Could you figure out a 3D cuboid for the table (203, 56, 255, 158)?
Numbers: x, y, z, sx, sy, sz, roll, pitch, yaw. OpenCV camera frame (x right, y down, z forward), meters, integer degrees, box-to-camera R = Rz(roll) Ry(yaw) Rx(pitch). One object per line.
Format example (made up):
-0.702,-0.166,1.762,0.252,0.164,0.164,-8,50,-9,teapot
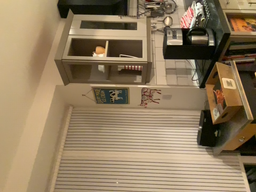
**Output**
1.200,0.140,1.810,0.790,0.790,0.530,90,-179,-56,table
